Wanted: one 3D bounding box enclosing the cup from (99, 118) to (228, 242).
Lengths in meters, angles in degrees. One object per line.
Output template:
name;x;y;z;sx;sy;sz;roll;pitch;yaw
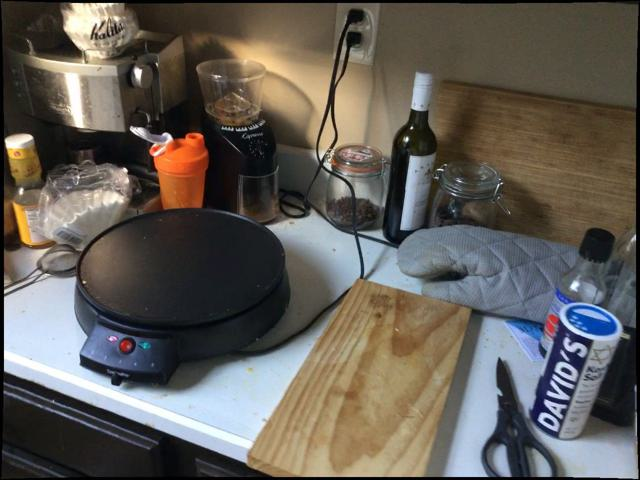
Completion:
cup;-0.269;-0.110;1.020;0.170;0.140;0.130;17;34;17
